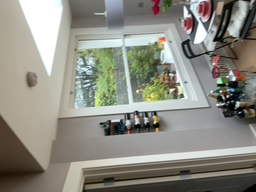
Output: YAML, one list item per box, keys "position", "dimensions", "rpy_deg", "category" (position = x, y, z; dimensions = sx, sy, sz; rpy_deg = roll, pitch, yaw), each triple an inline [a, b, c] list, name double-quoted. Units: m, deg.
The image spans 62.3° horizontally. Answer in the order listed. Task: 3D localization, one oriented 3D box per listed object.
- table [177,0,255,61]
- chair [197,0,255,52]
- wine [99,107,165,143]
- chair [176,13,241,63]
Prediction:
- position: [1.190, -1.200, 2.650]
  dimensions: [1.030, 0.740, 1.030]
  rpy_deg: [91, 174, -52]
  category: "table"
- position: [1.250, -0.840, 2.320]
  dimensions: [0.510, 0.730, 0.470]
  rpy_deg: [-98, 6, -47]
  category: "chair"
- position: [0.030, 0.330, 2.500]
  dimensions: [0.070, 0.730, 0.390]
  rpy_deg: [90, 174, -46]
  category: "wine"
- position: [1.190, -0.890, 3.250]
  dimensions: [0.510, 0.700, 0.490]
  rpy_deg: [91, 174, -50]
  category: "chair"
